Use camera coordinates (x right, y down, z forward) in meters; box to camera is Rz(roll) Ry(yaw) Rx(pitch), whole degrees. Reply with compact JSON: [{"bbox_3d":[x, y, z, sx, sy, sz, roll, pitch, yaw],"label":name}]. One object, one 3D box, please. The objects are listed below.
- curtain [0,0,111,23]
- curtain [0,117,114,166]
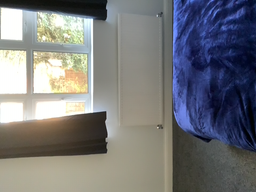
[{"bbox_3d":[-0.900,-1.140,2.430,0.220,1.380,0.400,176,93,-73],"label":"curtain"},{"bbox_3d":[-0.860,0.500,2.410,0.080,1.430,0.450,-172,82,-73],"label":"curtain"}]
